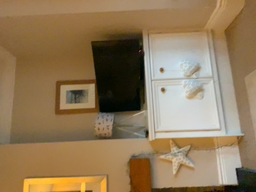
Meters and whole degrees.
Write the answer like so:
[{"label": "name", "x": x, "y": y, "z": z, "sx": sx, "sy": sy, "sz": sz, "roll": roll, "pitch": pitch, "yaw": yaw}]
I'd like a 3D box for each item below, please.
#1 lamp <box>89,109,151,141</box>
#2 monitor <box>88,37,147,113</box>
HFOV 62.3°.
[{"label": "lamp", "x": -0.090, "y": 0.350, "z": 2.530, "sx": 0.310, "sy": 0.690, "sz": 0.320, "roll": 88, "pitch": 180, "yaw": -76}, {"label": "monitor", "x": -0.100, "y": -0.220, "z": 2.540, "sx": 0.070, "sy": 0.570, "sz": 0.890, "roll": -82, "pitch": -14, "yaw": -63}]
